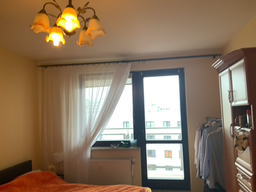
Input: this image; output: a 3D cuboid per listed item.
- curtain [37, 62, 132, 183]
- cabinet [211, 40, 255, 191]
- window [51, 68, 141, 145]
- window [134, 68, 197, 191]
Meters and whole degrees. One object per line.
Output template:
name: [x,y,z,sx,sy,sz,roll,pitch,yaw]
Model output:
curtain: [-0.800,0.470,3.830,1.680,2.050,0.190,-2,-4,8]
cabinet: [1.200,0.320,2.100,0.450,1.490,0.950,-2,-4,10]
window: [-0.620,0.210,4.040,1.670,1.370,0.230,-2,-4,7]
window: [0.660,0.670,3.870,1.030,2.310,0.150,-2,-4,7]
